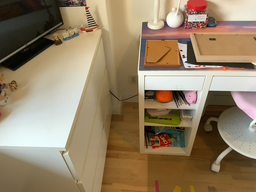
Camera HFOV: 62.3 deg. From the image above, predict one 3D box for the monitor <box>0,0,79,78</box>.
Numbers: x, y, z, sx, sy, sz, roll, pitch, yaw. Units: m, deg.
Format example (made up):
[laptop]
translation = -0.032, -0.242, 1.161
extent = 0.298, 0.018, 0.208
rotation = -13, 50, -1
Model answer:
[monitor]
translation = -0.500, -0.370, 0.990
extent = 0.080, 0.350, 0.560
rotation = 20, 51, 29
